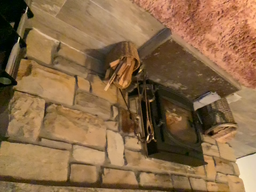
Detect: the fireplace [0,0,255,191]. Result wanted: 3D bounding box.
[{"bbox_3d":[0.340,0.260,1.620,2.230,0.980,0.830,22,141,-37],"label":"fireplace"}]
